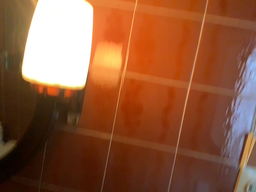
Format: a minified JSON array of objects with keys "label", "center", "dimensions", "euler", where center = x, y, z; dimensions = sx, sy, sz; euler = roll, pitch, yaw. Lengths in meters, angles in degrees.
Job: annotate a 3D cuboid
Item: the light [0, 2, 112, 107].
[{"label":"light","center":[-0.110,-0.060,0.380],"dimensions":[0.110,0.120,0.210],"euler":[10,4,5]}]
